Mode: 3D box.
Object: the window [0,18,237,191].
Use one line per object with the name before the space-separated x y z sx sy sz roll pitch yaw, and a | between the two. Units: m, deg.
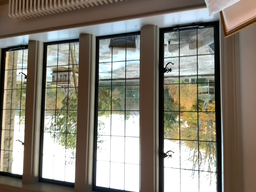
window | -0.410 0.190 2.370 2.900 1.810 0.100 0 176 17
